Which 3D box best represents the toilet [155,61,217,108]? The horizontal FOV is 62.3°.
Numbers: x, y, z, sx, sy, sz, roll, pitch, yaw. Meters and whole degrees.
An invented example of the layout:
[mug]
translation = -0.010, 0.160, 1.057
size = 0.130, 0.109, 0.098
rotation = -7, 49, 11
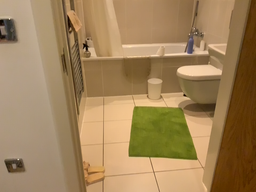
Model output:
[toilet]
translation = 0.660, -0.150, 2.530
size = 0.580, 0.410, 0.380
rotation = -3, 26, -6
